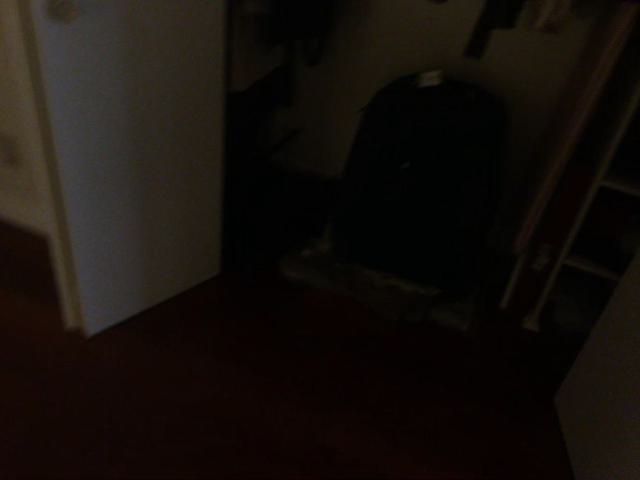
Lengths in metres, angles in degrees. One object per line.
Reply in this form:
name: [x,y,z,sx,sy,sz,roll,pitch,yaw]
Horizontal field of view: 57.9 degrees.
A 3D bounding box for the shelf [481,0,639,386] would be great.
shelf: [0.960,-0.130,1.550,0.700,1.040,0.370,19,35,11]
